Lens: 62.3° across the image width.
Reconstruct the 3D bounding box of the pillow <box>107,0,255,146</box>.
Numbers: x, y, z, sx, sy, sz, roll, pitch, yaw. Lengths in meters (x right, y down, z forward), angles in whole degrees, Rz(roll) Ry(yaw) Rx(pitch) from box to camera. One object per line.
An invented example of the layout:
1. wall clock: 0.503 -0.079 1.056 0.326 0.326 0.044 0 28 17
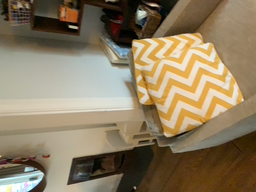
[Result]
1. pillow: 0.300 -0.140 1.230 0.600 0.570 0.220 47 168 11
